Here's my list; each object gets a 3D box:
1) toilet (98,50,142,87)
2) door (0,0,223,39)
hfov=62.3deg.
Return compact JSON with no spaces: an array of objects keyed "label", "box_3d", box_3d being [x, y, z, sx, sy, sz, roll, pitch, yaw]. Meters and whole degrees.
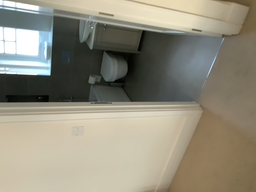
[{"label":"toilet","box_3d":[-0.140,-0.420,3.240,0.510,0.450,0.370,-129,46,-53]},{"label":"door","box_3d":[-0.210,-0.610,1.690,0.700,1.920,0.060,-147,61,-60]}]
